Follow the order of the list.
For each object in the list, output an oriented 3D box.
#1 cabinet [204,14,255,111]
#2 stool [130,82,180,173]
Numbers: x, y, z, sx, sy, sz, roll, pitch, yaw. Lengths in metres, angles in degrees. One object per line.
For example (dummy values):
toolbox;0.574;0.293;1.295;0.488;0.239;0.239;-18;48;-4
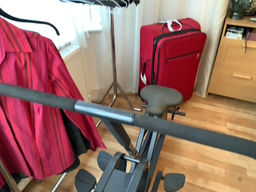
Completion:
cabinet;1.110;-0.330;2.060;0.520;0.760;0.440;13;36;18
stool;0.190;0.220;1.520;0.250;0.510;0.340;11;36;15
